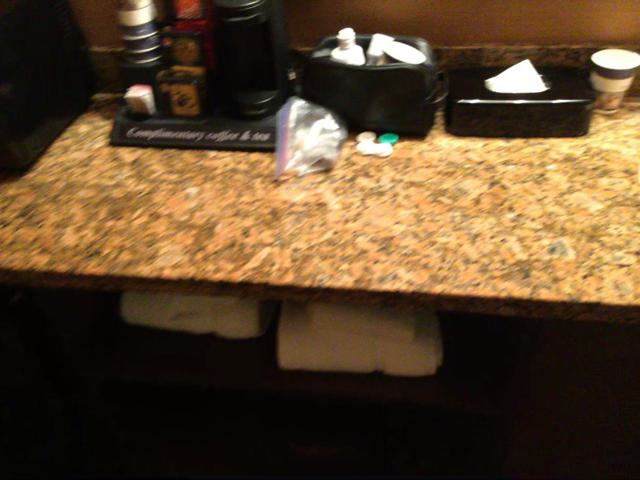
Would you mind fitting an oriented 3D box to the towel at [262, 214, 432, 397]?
[{"bbox_3d":[0.060,0.110,1.100,0.270,0.160,0.340,-1,34,6],"label":"towel"}]
